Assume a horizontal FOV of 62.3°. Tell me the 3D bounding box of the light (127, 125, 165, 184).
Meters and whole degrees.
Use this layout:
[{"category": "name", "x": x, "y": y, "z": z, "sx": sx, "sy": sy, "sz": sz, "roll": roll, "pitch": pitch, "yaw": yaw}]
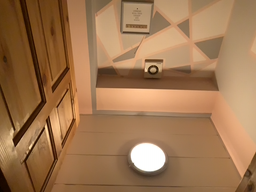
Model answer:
[{"category": "light", "x": 0.130, "y": 0.430, "z": 1.570, "sx": 0.100, "sy": 0.280, "sz": 0.320, "roll": -32, "pitch": 118, "yaw": 19}]
